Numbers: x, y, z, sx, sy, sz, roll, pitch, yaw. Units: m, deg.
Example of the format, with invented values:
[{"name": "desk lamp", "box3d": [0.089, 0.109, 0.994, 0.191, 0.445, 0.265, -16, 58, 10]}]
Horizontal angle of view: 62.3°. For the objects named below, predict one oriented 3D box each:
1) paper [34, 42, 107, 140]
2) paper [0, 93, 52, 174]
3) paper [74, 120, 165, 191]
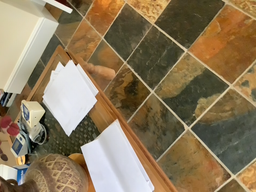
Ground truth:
[{"name": "paper", "box3d": [-0.320, -0.030, 1.100, 0.330, 0.060, 0.380, -51, 60, 21]}, {"name": "paper", "box3d": [-0.640, 0.220, 1.280, 0.330, 0.090, 0.330, -52, 60, 20]}, {"name": "paper", "box3d": [-0.050, 0.290, 0.850, 0.230, 0.110, 0.310, -49, 61, 22]}]
